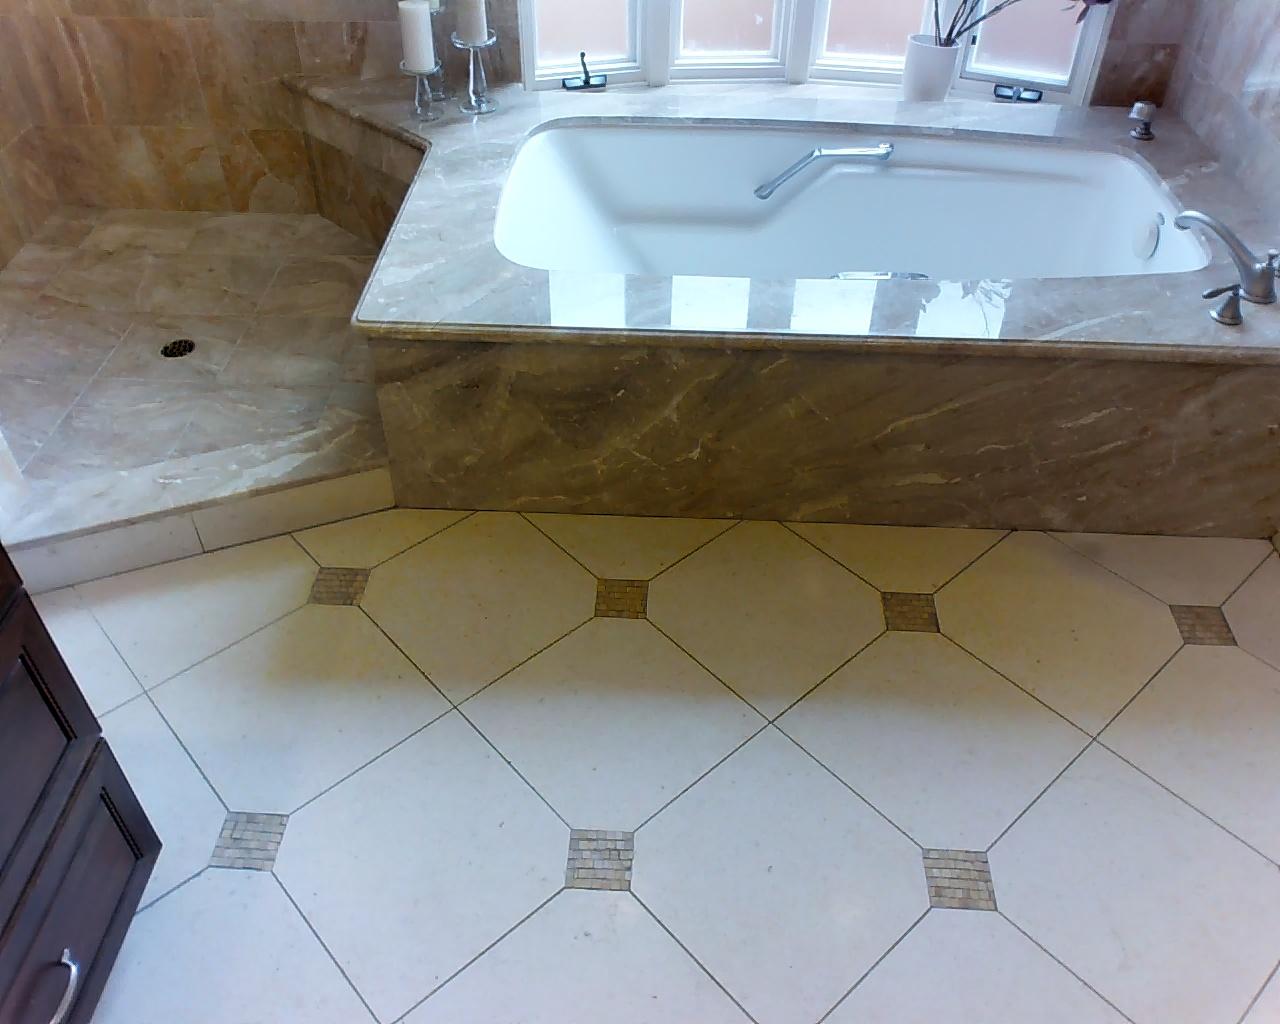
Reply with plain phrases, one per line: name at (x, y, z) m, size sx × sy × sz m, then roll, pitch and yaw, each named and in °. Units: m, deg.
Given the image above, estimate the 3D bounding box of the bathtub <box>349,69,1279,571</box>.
bathtub at (0.440, -0.540, 2.630) m, size 1.910 × 0.570 × 1.270 m, roll 2°, pitch 42°, yaw 2°
